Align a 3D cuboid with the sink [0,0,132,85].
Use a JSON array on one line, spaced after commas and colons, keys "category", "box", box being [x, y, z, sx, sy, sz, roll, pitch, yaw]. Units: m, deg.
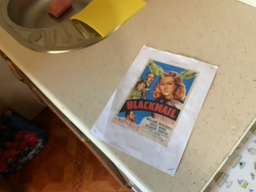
[{"category": "sink", "box": [-0.300, -0.350, 0.880, 0.430, 0.170, 0.450, 37, 69, 26]}]
